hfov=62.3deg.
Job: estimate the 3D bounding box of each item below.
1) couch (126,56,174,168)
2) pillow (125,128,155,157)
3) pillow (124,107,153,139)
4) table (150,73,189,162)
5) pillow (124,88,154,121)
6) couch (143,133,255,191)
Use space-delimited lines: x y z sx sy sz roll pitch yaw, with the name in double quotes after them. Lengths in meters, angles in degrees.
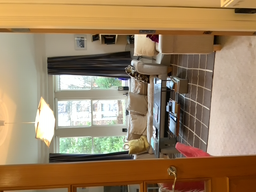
0.410 0.280 4.690 1.060 0.740 2.230 -117 27 -75 "couch"
0.250 1.000 4.640 0.520 0.480 0.190 -128 15 -65 "pillow"
0.240 0.610 4.800 0.540 0.450 0.220 65 174 -19 "pillow"
0.680 0.350 3.650 0.520 0.450 1.420 -117 27 -75 "table"
0.240 0.180 4.690 0.260 0.480 0.520 -124 12 -57 "pillow"
0.680 0.840 1.810 0.990 0.910 0.860 170 99 -83 "couch"
